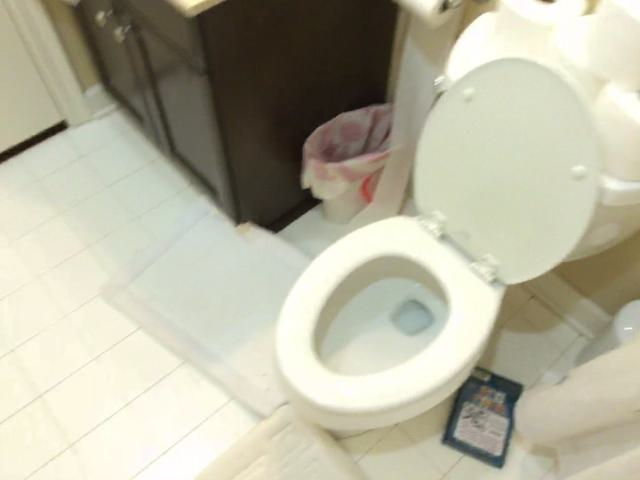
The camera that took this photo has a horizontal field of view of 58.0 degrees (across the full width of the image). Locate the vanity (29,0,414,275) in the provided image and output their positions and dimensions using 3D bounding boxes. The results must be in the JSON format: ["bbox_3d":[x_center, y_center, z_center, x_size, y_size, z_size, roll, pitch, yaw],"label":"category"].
[{"bbox_3d":[-0.270,-0.570,1.440,0.630,0.930,0.750,-36,65,-22],"label":"vanity"}]

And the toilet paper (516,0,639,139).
[{"bbox_3d":[0.450,-0.310,0.880,0.150,0.190,0.190,-36,65,-22],"label":"toilet paper"}]

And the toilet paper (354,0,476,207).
[{"bbox_3d":[0.210,-0.360,1.390,0.150,0.670,0.140,-36,65,-22],"label":"toilet paper"}]
